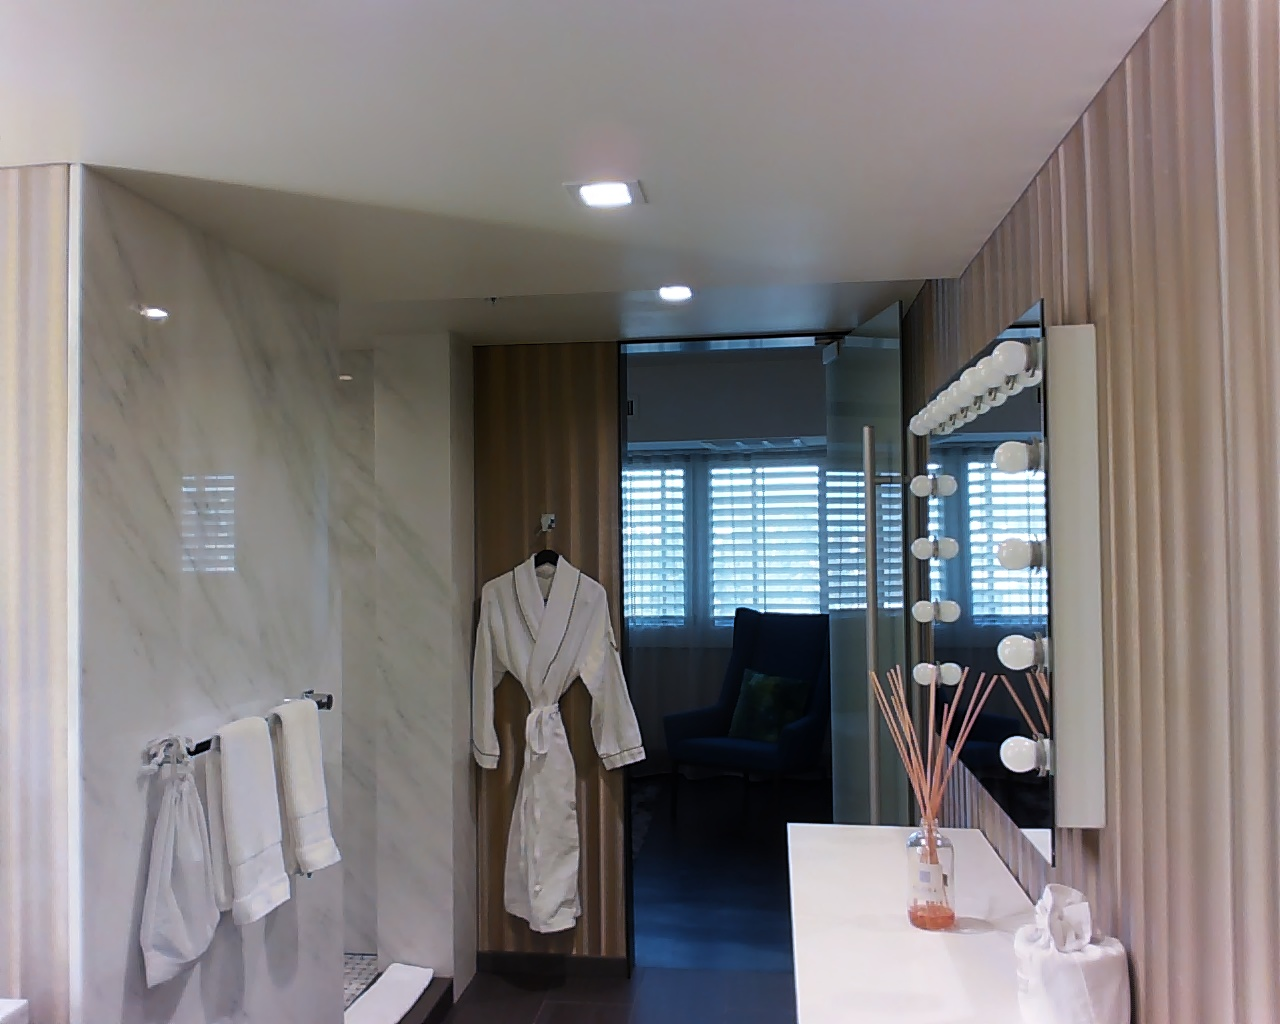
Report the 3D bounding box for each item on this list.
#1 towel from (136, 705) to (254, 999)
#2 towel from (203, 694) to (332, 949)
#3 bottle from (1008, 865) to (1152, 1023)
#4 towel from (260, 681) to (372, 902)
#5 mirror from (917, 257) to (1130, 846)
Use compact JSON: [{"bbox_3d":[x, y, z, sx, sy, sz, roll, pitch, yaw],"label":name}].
[{"bbox_3d":[-0.760,0.570,1.850,0.100,0.440,0.200,-1,-1,7],"label":"towel"},{"bbox_3d":[-0.710,0.580,2.070,0.140,0.420,0.240,-1,-1,7],"label":"towel"},{"bbox_3d":[0.560,0.560,1.380,0.140,0.170,0.130,-1,-1,8],"label":"bottle"},{"bbox_3d":[-0.680,0.580,2.270,0.170,0.420,0.170,-1,-1,7],"label":"towel"},{"bbox_3d":[0.640,0.060,1.940,0.140,0.780,1.020,-1,-1,8],"label":"mirror"}]
